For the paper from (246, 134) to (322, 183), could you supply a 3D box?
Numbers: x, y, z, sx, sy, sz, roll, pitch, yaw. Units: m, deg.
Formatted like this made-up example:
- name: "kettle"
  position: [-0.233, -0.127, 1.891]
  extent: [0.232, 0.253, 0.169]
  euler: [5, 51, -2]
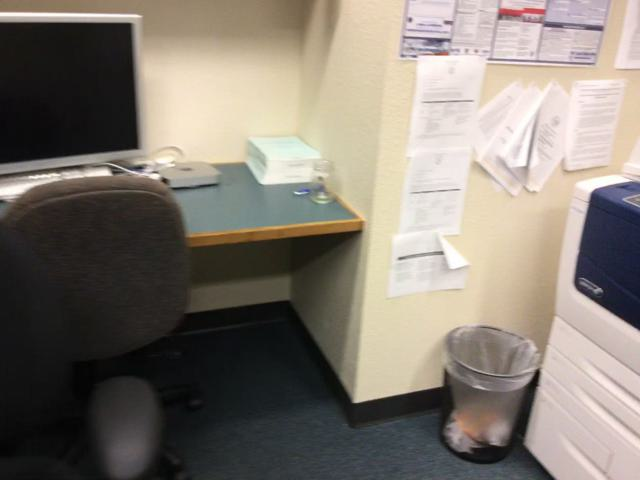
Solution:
- name: "paper"
  position: [-0.140, -0.310, 2.150]
  extent: [0.200, 0.130, 0.300]
  euler: [-6, 18, -20]

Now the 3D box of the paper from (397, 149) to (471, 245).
- name: "paper"
  position: [0.340, -0.130, 1.730]
  extent: [0.210, 0.270, 0.040]
  euler: [-6, 18, -20]

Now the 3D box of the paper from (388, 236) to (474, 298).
- name: "paper"
  position: [0.340, 0.080, 1.780]
  extent: [0.250, 0.150, 0.070]
  euler: [-6, 18, -20]

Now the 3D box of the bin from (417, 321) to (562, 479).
- name: "bin"
  position: [0.530, 0.500, 1.870]
  extent: [0.290, 0.340, 0.310]
  euler: [-6, 18, -20]

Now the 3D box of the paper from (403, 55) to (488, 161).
- name: "paper"
  position: [0.350, -0.370, 1.620]
  extent: [0.220, 0.280, 0.050]
  euler: [-6, 18, -20]

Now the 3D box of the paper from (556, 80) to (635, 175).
- name: "paper"
  position: [0.850, -0.350, 1.790]
  extent: [0.210, 0.280, 0.050]
  euler: [-6, 18, -20]

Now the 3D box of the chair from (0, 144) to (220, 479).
- name: "chair"
  position: [-0.630, 0.250, 1.630]
  extent: [0.570, 0.950, 0.500]
  euler: [-6, 18, -20]

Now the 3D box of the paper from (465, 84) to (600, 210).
- name: "paper"
  position: [0.620, -0.280, 1.700]
  extent: [0.330, 0.340, 0.130]
  euler: [-6, 18, -20]
